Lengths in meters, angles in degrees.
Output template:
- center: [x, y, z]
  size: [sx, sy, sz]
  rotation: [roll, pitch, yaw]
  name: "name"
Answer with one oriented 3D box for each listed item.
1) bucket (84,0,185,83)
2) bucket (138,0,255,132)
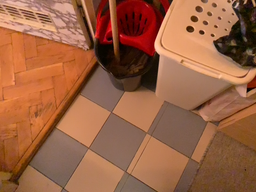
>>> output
- center: [0.050, -0.320, 0.920]
  size: [0.270, 0.420, 0.310]
  rotation: [27, 74, 9]
  name: "bucket"
- center: [0.300, -0.150, 0.830]
  size: [0.370, 0.500, 0.380]
  rotation: [26, 74, 9]
  name: "bucket"
